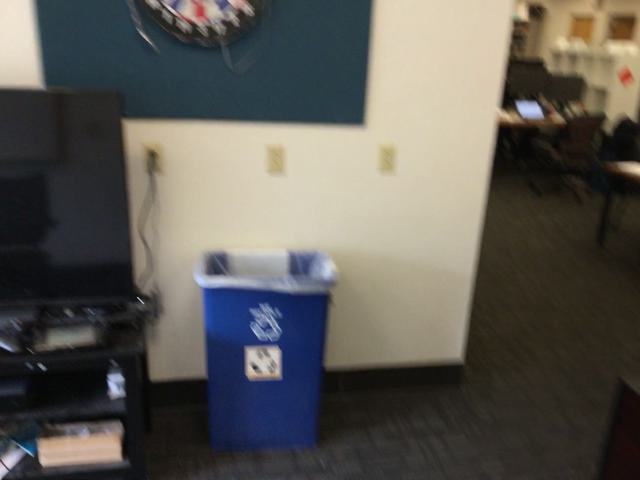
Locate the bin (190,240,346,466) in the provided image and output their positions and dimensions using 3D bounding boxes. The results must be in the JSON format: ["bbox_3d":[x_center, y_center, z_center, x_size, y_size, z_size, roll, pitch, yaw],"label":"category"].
[{"bbox_3d":[-0.210,0.420,2.250,0.520,0.730,0.350,-4,21,-14],"label":"bin"}]

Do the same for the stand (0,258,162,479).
[{"bbox_3d":[-1.310,0.530,1.890,1.480,0.680,0.530,-4,21,-14],"label":"stand"}]
